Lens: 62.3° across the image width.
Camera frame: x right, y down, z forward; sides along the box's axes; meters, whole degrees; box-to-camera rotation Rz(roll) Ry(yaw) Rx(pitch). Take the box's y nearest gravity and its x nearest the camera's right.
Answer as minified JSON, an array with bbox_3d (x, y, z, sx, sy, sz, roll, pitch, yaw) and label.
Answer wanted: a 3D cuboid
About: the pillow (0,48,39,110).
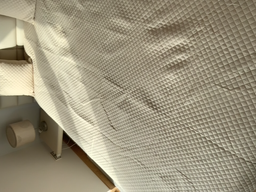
[{"bbox_3d":[-1.080,-0.160,1.930,0.210,0.370,0.410,30,136,33],"label":"pillow"}]
